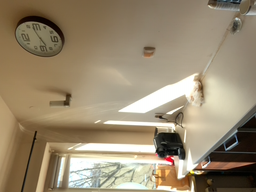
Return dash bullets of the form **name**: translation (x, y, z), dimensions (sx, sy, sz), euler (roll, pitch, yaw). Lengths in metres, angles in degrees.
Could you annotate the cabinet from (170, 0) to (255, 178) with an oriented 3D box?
- **cabinet**: translation (1.000, 0.040, 1.560), dimensions (1.810, 0.870, 0.580), euler (100, 172, -53)
